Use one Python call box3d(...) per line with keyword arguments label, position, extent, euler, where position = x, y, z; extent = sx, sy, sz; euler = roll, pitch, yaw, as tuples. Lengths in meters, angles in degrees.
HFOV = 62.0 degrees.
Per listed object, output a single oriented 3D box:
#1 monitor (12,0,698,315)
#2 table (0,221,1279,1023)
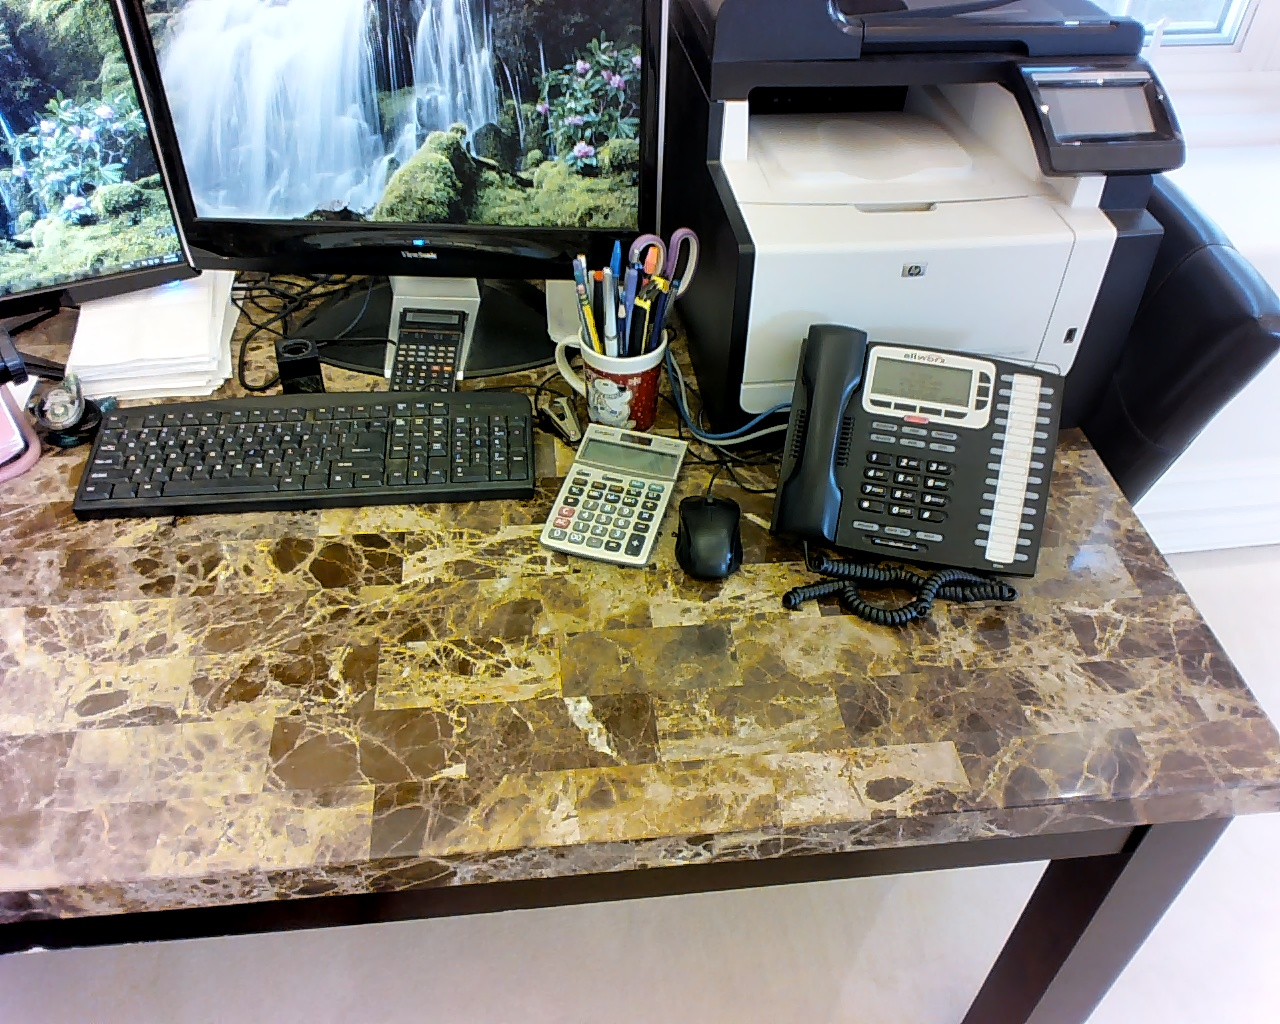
box3d(label="monitor", position=(-0.250, -0.400, 1.060), extent=(0.600, 0.380, 0.080), euler=(-5, 42, -6))
box3d(label="table", position=(-0.290, 0.240, 1.310), extent=(1.650, 0.790, 0.860), euler=(-4, 42, -5))
